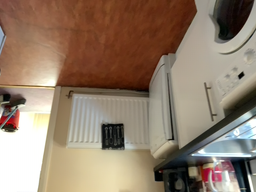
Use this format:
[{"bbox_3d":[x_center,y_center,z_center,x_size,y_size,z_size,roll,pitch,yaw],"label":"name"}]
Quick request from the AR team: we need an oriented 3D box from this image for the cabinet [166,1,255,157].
[{"bbox_3d":[0.690,-0.090,1.540,0.590,0.910,0.600,3,153,-7],"label":"cabinet"}]
